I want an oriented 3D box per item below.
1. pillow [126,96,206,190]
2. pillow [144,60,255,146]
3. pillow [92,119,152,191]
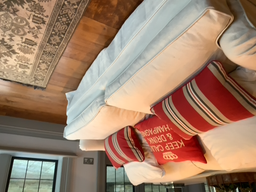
[{"bbox_3d":[0.240,0.320,1.540,0.180,0.470,0.460,16,-166,-29],"label":"pillow"},{"bbox_3d":[0.370,0.080,1.100,0.340,0.210,0.500,13,150,-27],"label":"pillow"},{"bbox_3d":[-0.090,0.490,1.870,0.190,0.340,0.630,16,-172,-29],"label":"pillow"}]
